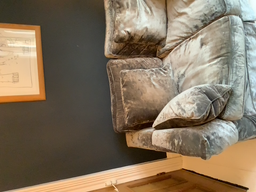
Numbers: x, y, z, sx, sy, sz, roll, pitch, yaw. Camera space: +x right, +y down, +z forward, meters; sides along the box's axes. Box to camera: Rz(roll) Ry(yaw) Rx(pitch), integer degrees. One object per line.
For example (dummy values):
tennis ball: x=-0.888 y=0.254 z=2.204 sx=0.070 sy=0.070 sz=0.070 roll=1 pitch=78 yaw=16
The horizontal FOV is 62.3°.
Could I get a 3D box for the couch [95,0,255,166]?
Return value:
couch: x=0.340 y=-0.440 z=1.790 sx=1.160 sy=0.800 sz=1.710 roll=-21 pitch=74 yaw=63
